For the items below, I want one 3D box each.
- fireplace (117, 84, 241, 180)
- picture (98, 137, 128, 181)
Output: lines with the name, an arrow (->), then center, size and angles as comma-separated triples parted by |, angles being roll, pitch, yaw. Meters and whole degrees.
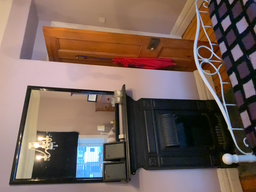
fireplace -> 0.500, 0.370, 2.300 | 0.280, 1.160, 0.930 | 116, 153, -60
picture -> -0.140, 0.590, 2.000 | 0.120, 0.190, 0.350 | 114, 170, -60
